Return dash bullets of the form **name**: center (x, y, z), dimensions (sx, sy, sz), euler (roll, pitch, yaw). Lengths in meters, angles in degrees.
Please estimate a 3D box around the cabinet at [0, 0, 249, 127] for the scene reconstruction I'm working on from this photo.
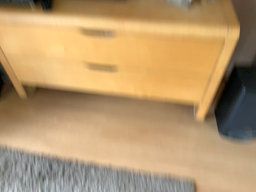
- **cabinet**: center (-0.120, -0.310, 1.400), dimensions (1.360, 0.720, 0.520), euler (7, 48, 7)
